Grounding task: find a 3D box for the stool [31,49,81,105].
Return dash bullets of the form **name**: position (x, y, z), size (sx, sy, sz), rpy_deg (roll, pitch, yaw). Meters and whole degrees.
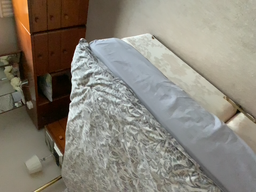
- **stool**: position (-0.990, -0.270, 2.910), size (0.410, 0.470, 0.520), rpy_deg (47, 140, 25)
